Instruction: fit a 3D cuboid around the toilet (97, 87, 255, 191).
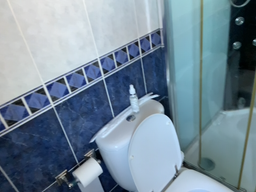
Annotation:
[{"bbox_3d":[0.310,0.490,1.050,0.420,0.810,0.690,-33,39,-31],"label":"toilet"}]
